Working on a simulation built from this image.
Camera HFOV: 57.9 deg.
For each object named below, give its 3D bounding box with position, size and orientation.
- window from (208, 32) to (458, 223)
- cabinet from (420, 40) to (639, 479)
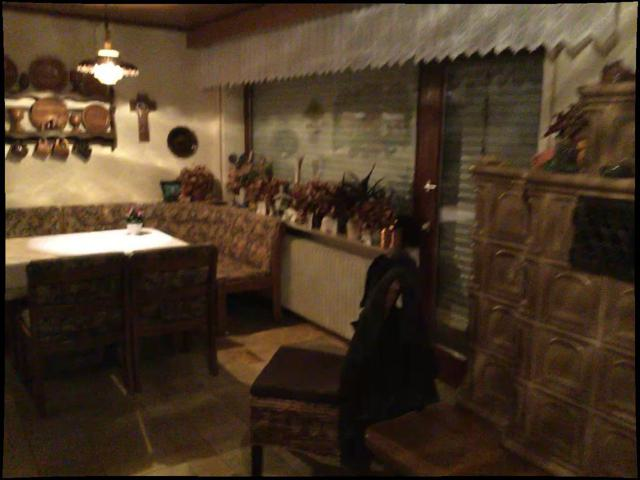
[{"bbox_3d":[-0.110,-0.881,4.420,0.390,1.061,2.609,-8,15,-34],"label":"window"},{"bbox_3d":[1.119,0.280,1.970,0.809,1.762,1.260,-8,15,-34],"label":"cabinet"}]
